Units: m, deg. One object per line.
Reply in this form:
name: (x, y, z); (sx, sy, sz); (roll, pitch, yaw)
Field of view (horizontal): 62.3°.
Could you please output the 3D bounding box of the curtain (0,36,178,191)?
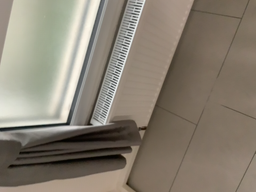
curtain: (-0.470, 0.100, 0.440); (0.160, 1.980, 0.510); (29, 105, 34)
